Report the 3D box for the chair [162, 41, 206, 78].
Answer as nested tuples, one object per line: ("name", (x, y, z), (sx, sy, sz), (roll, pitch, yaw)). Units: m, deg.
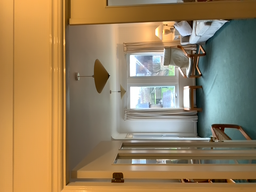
("chair", (1.510, -1.030, 5.920), (0.830, 1.000, 0.720), (-87, -5, -57))
